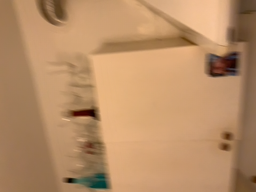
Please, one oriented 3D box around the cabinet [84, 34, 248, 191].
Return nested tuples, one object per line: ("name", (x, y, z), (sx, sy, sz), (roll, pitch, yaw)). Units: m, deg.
("cabinet", (0.180, 0.140, 1.050), (0.310, 0.590, 0.780), (-74, -21, -68))
